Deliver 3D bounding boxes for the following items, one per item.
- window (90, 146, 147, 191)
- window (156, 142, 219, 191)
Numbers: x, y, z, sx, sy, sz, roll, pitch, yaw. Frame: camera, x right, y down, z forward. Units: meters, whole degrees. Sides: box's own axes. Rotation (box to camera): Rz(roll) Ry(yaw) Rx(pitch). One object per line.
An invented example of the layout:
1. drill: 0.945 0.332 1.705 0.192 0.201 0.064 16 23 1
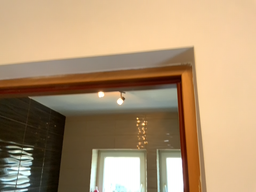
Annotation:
1. window: -0.120 1.120 3.080 0.760 0.740 0.330 -1 -19 8
2. window: 0.790 1.080 2.920 0.790 0.840 0.250 -1 -19 8
